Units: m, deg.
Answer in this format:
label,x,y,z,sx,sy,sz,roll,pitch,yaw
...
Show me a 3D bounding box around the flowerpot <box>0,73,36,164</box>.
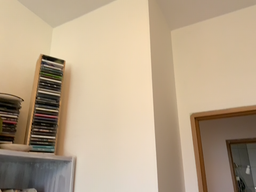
label,x,y,z,sx,sy,sz,roll,pitch,yaw
flowerpot,-0.670,0.120,1.060,0.210,0.410,0.260,-12,-23,29
